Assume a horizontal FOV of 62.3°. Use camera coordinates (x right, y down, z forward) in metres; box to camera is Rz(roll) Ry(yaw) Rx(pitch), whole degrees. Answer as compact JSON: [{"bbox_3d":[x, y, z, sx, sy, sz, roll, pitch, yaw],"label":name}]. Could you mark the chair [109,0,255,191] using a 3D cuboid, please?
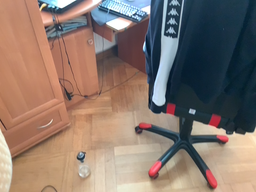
[{"bbox_3d":[0.370,-0.150,1.150,0.660,1.370,0.730,17,46,15],"label":"chair"}]
